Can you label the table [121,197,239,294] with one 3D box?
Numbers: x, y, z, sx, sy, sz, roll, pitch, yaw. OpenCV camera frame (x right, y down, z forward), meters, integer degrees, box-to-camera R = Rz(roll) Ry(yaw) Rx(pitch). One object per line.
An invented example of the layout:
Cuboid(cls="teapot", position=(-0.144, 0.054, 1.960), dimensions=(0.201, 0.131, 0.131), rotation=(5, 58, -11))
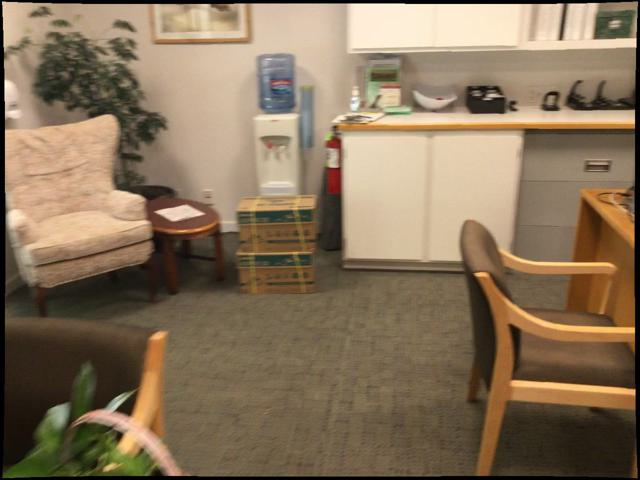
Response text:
Cuboid(cls="table", position=(-0.849, 0.020, 3.610), dimensions=(0.539, 0.450, 0.460), rotation=(1, 22, 9))
